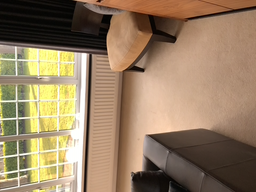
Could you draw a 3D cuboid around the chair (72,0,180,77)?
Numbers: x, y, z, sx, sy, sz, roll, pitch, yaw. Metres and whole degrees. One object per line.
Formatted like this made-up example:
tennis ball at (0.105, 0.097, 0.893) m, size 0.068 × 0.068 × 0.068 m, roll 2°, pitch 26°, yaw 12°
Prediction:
chair at (-0.080, -0.740, 2.260) m, size 0.730 × 0.770 × 0.810 m, roll -37°, pitch 59°, yaw 55°
